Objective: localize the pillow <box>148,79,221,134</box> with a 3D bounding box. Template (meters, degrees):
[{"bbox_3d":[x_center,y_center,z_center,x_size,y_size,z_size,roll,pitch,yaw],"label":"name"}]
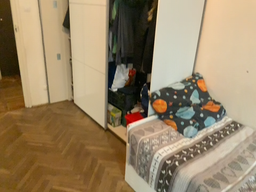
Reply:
[{"bbox_3d":[0.520,0.070,1.960,0.560,0.280,0.340,-14,29,-36],"label":"pillow"}]
